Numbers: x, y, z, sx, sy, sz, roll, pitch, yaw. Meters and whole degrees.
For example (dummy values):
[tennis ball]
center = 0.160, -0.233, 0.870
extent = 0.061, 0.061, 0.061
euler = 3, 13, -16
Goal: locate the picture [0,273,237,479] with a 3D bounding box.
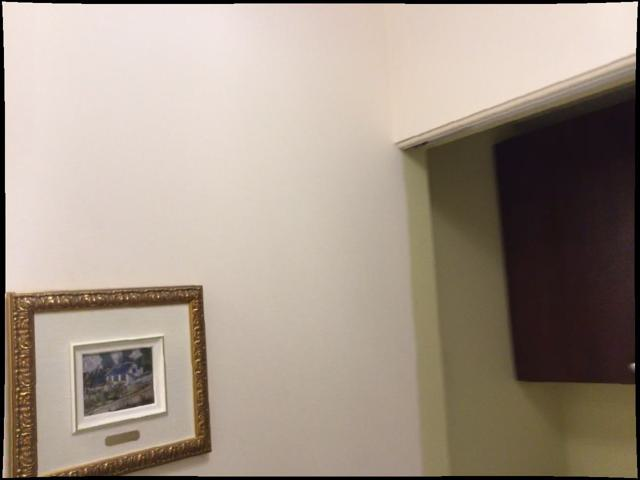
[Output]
[picture]
center = -0.300, 0.210, 0.850
extent = 0.380, 0.310, 0.030
euler = 1, -9, -42
